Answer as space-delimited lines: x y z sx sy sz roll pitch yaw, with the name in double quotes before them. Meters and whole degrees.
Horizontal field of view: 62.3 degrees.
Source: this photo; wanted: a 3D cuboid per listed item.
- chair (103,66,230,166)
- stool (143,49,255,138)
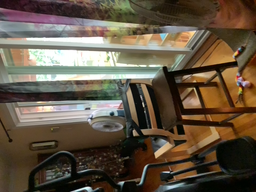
"chair" 0.310 0.220 2.270 0.810 0.920 0.730 120 143 -57
"stool" 0.590 -0.020 1.740 0.410 0.730 0.550 122 141 -58
